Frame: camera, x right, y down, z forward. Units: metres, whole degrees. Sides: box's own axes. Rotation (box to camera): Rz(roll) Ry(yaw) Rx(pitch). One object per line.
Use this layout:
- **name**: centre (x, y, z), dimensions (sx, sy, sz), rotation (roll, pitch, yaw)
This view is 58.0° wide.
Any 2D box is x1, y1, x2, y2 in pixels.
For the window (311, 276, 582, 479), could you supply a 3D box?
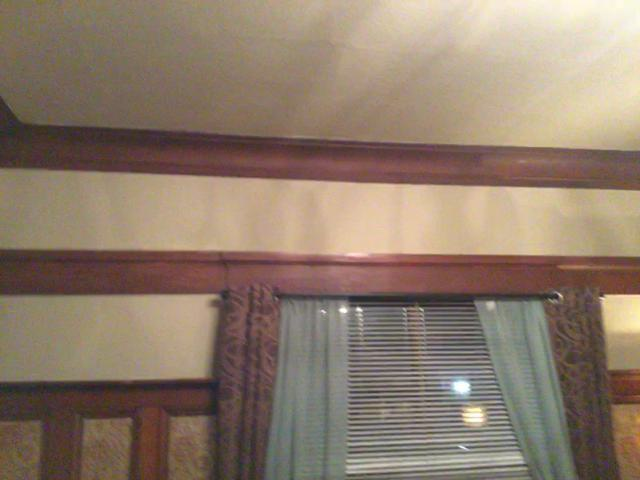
- **window**: centre (0.520, 0.790, 2.450), dimensions (1.070, 1.260, 0.130), rotation (-1, -19, -4)

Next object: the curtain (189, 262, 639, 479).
- **curtain**: centre (0.400, 0.750, 2.370), dimensions (1.800, 1.270, 0.240), rotation (-1, -19, -4)
